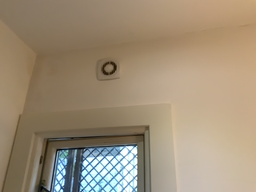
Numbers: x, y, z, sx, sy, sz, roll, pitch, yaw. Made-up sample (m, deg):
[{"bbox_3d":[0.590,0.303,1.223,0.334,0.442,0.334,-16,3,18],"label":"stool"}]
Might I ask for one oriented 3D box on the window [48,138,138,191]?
[{"bbox_3d":[-0.240,0.580,1.430,0.610,0.560,0.070,-5,-25,14],"label":"window"}]
